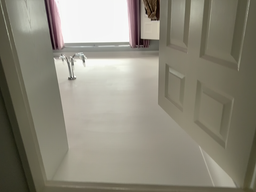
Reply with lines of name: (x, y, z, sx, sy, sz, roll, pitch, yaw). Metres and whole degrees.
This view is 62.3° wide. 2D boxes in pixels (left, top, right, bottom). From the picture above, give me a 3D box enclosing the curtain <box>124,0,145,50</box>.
curtain: (0.140, -1.900, 4.240, 0.360, 1.890, 0.240, 8, -155, 21)
